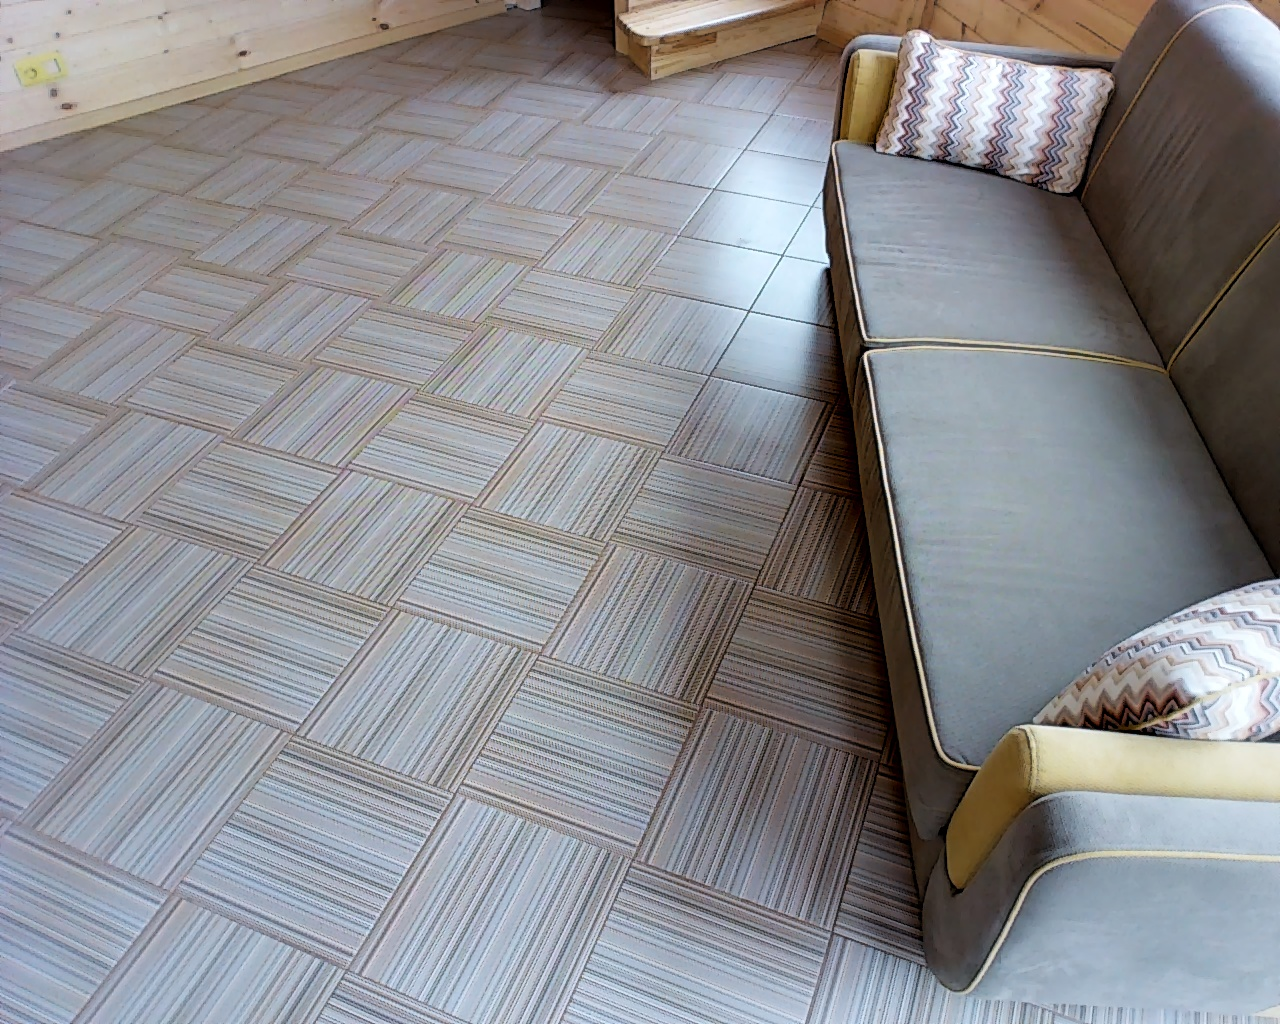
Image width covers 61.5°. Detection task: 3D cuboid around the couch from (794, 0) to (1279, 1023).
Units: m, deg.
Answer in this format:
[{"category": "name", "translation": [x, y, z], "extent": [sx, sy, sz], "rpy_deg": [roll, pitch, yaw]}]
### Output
[{"category": "couch", "translation": [0.930, -0.320, 2.100], "extent": [1.080, 0.850, 2.510], "rpy_deg": [2, 42, 3]}]
